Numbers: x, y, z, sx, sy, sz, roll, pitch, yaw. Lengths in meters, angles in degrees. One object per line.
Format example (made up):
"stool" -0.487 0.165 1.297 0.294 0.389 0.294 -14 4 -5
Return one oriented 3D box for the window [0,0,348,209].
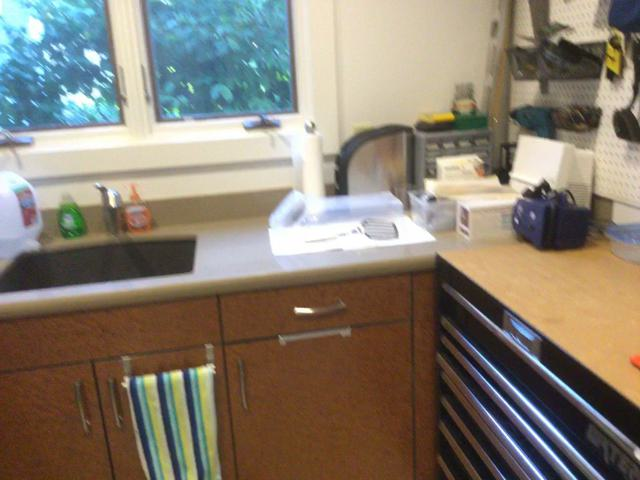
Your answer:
"window" -0.620 -0.750 1.820 1.370 1.210 0.220 -6 16 -12
